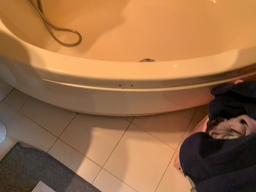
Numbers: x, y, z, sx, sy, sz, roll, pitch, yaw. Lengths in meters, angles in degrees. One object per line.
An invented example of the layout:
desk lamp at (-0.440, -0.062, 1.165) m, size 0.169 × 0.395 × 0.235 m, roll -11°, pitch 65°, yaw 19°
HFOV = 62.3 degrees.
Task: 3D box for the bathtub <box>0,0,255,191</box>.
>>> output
bathtub at (0.190, -0.390, 1.200) m, size 1.380 × 0.600 × 1.440 m, roll 31°, pitch 67°, yaw 9°
